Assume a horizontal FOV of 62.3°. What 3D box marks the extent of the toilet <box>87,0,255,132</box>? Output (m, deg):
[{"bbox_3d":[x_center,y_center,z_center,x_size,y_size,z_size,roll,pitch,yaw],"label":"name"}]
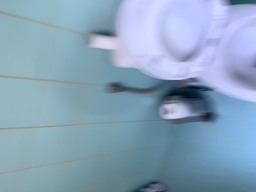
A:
[{"bbox_3d":[0.370,-0.210,0.890,0.620,0.800,0.400,32,111,44],"label":"toilet"}]
